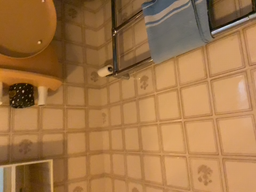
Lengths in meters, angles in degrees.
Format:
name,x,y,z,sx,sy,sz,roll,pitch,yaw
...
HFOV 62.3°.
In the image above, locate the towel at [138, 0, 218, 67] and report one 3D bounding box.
name,x,y,z,sx,sy,sz,roll,pitch,yaw
towel,0.200,-0.330,0.930,0.100,0.320,0.310,4,168,-43
